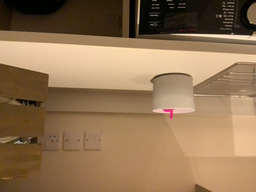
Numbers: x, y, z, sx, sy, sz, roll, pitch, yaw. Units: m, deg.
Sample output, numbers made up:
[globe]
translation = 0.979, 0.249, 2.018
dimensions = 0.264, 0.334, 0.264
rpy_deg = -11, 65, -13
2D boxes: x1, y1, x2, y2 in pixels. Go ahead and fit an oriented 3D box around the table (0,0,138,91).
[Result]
[table]
translation = -0.310, -0.520, 0.850
dimensions = 0.620, 0.890, 0.570
rpy_deg = 2, 170, -6
